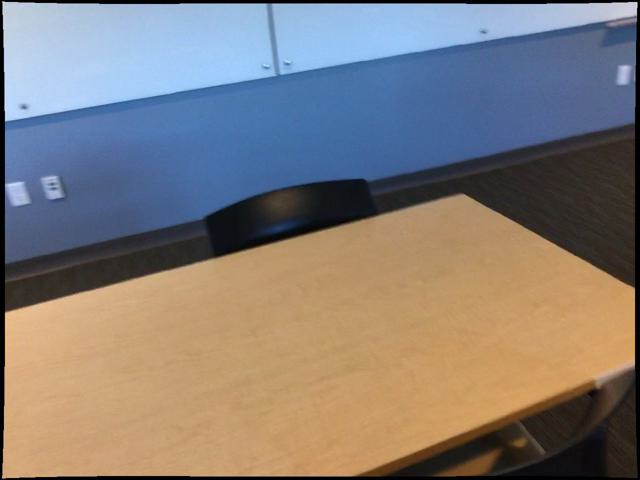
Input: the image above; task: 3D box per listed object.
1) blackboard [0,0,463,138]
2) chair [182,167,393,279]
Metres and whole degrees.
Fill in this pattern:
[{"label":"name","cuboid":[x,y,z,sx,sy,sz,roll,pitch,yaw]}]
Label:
[{"label":"blackboard","cuboid":[-0.828,-0.973,2.680,3.363,0.701,0.120,-15,30,-15]},{"label":"chair","cuboid":[-0.090,-0.060,1.600,0.539,0.110,0.210,-15,30,-15]}]
